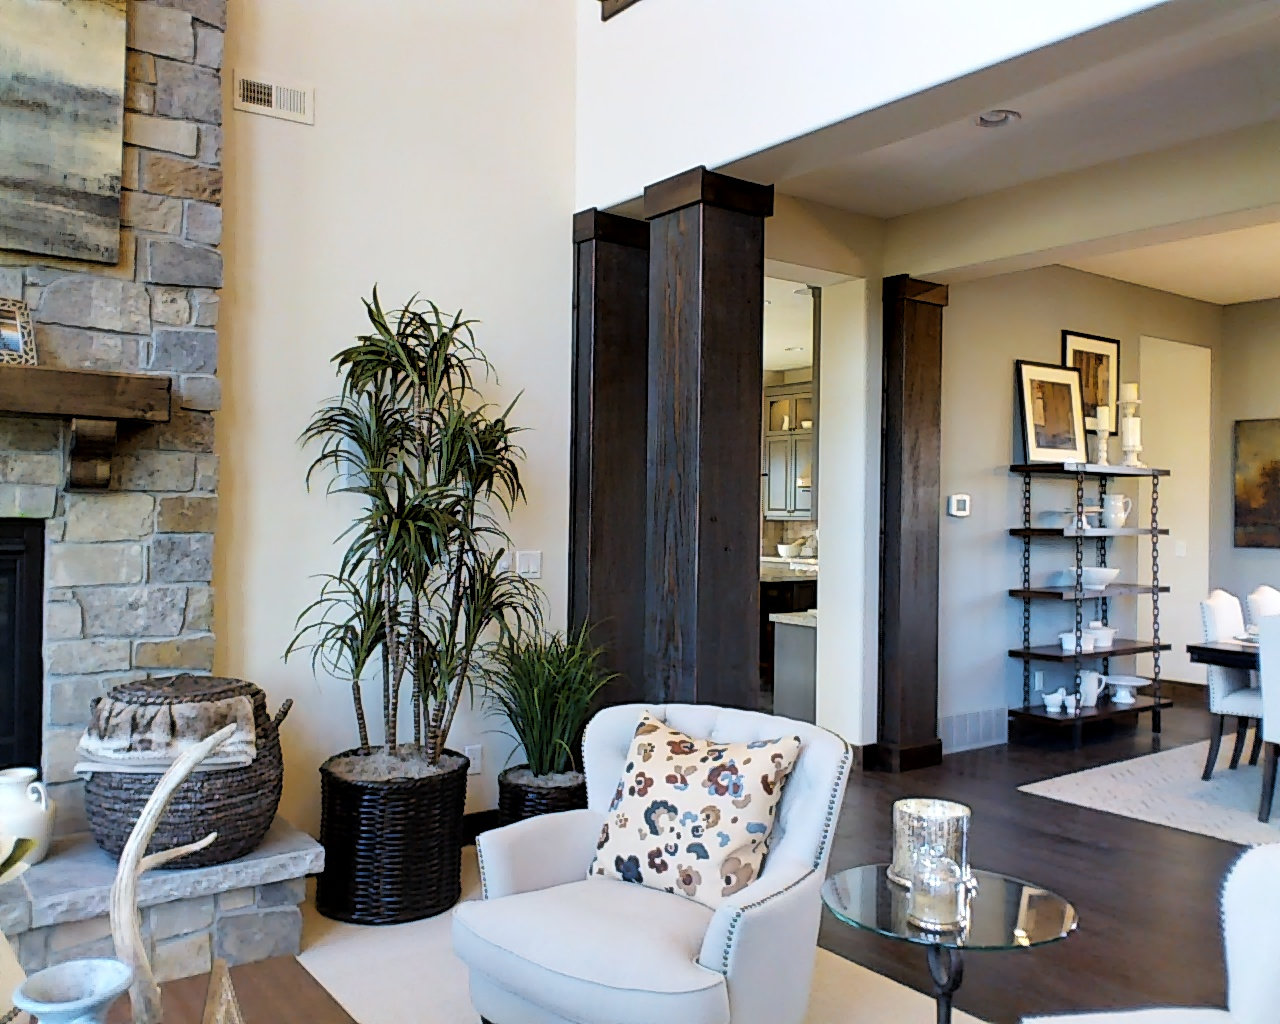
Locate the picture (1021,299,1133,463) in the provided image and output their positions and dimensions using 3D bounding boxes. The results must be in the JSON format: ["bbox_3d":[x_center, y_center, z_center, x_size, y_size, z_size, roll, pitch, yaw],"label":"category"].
[{"bbox_3d":[2.880,-0.830,7.020,1.060,0.970,0.140,1,0,-37],"label":"picture"}]

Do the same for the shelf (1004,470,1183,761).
[{"bbox_3d":[2.900,0.610,6.810,1.210,1.700,0.490,1,0,-37],"label":"shelf"}]
